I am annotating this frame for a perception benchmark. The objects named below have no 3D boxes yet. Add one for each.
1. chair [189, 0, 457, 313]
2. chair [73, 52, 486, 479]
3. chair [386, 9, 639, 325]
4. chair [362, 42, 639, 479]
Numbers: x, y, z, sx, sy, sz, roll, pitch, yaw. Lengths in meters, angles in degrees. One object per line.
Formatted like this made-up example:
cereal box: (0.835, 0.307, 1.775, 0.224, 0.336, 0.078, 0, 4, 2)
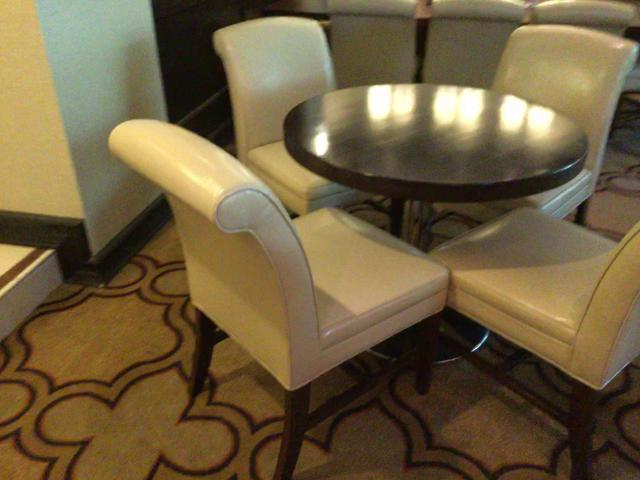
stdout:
chair: (-0.010, -0.400, 2.370, 0.610, 0.950, 0.840, -21, 36, -30)
chair: (-0.070, 0.070, 1.590, 0.770, 0.930, 0.590, -27, 38, -36)
chair: (0.770, -0.340, 2.250, 0.760, 0.900, 0.650, -27, 38, -36)
chair: (0.650, 0.040, 1.600, 0.540, 0.920, 0.970, -24, 37, -32)
